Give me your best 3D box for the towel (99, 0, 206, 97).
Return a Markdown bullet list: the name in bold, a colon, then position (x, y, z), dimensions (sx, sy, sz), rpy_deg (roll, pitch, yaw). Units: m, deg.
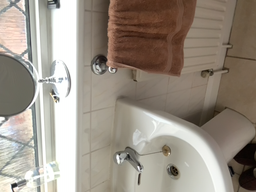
- **towel**: position (0.100, -0.240, 0.680), dimensions (0.080, 0.400, 0.420), rpy_deg (22, 115, 42)
